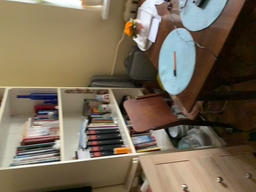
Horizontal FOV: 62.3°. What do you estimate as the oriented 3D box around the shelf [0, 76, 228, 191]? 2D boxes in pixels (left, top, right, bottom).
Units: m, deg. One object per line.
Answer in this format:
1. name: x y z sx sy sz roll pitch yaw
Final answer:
1. shelf: -0.340 0.260 1.900 0.950 2.150 0.410 -116 32 -50
